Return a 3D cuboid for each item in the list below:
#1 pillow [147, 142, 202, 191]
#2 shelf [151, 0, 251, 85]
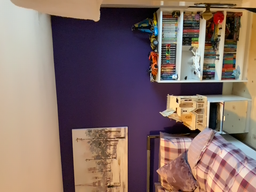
[{"bbox_3d":[0.540,0.860,2.480,0.480,0.380,0.200,44,179,-19],"label":"pillow"},{"bbox_3d":[0.830,-0.610,2.520,0.300,1.040,0.890,-125,34,-77],"label":"shelf"}]
